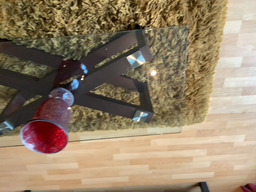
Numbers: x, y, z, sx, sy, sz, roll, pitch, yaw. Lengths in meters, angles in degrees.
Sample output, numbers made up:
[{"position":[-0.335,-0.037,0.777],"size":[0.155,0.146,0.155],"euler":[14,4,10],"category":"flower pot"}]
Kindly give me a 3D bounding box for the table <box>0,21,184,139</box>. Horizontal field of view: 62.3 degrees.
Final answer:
[{"position":[-0.280,-0.080,1.030],"size":[0.980,0.320,0.430],"euler":[-3,123,0],"category":"table"}]

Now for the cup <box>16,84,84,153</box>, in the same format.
[{"position":[-0.280,0.080,0.820],"size":[0.170,0.210,0.170],"euler":[-1,123,-1],"category":"cup"}]
